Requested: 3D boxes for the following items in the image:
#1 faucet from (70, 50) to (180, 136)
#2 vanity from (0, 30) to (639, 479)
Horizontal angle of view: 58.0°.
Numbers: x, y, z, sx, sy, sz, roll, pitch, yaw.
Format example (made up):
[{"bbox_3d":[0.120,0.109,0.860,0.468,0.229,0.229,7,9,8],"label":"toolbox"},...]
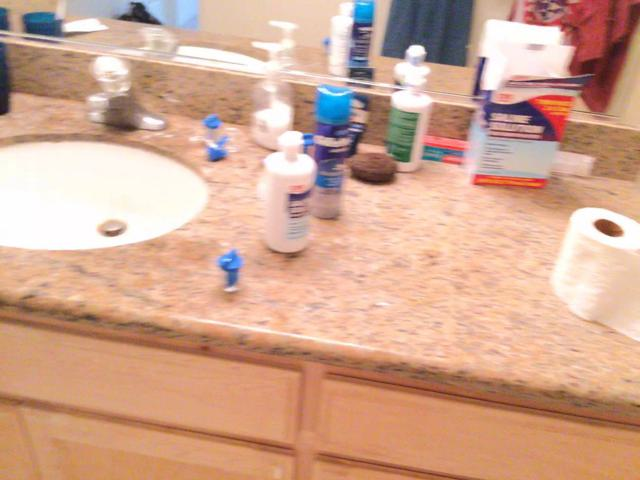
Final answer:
[{"bbox_3d":[-0.360,-0.280,1.090,0.140,0.100,0.150,9,32,4],"label":"faucet"},{"bbox_3d":[-0.170,0.200,1.060,1.380,0.890,0.550,9,32,4],"label":"vanity"}]
